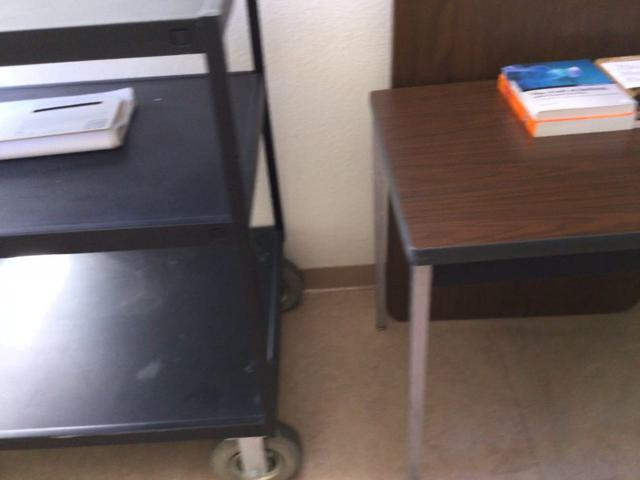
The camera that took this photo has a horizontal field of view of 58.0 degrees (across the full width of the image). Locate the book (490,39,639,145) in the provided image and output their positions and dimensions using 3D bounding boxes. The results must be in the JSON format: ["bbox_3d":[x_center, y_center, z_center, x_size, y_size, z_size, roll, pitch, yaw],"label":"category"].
[{"bbox_3d":[0.590,-0.320,1.200,0.390,0.070,0.310,-6,35,4],"label":"book"}]

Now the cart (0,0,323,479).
[{"bbox_3d":[-0.570,-0.020,1.310,1.010,1.170,0.740,-6,35,4],"label":"cart"}]
